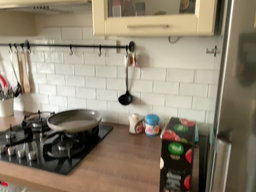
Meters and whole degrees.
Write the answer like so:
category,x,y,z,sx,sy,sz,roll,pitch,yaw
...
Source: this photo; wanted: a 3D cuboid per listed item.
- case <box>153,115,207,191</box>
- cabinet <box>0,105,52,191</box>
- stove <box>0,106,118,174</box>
category,x,y,z,sx,sy,sz,roll,pitch,yaw
case,0.180,0.220,0.720,0.140,0.240,0.220,6,16,19
cabinet,-0.970,0.580,1.440,0.540,0.860,0.640,6,16,18
stove,-0.430,0.190,1.180,0.580,0.040,0.580,6,16,18
